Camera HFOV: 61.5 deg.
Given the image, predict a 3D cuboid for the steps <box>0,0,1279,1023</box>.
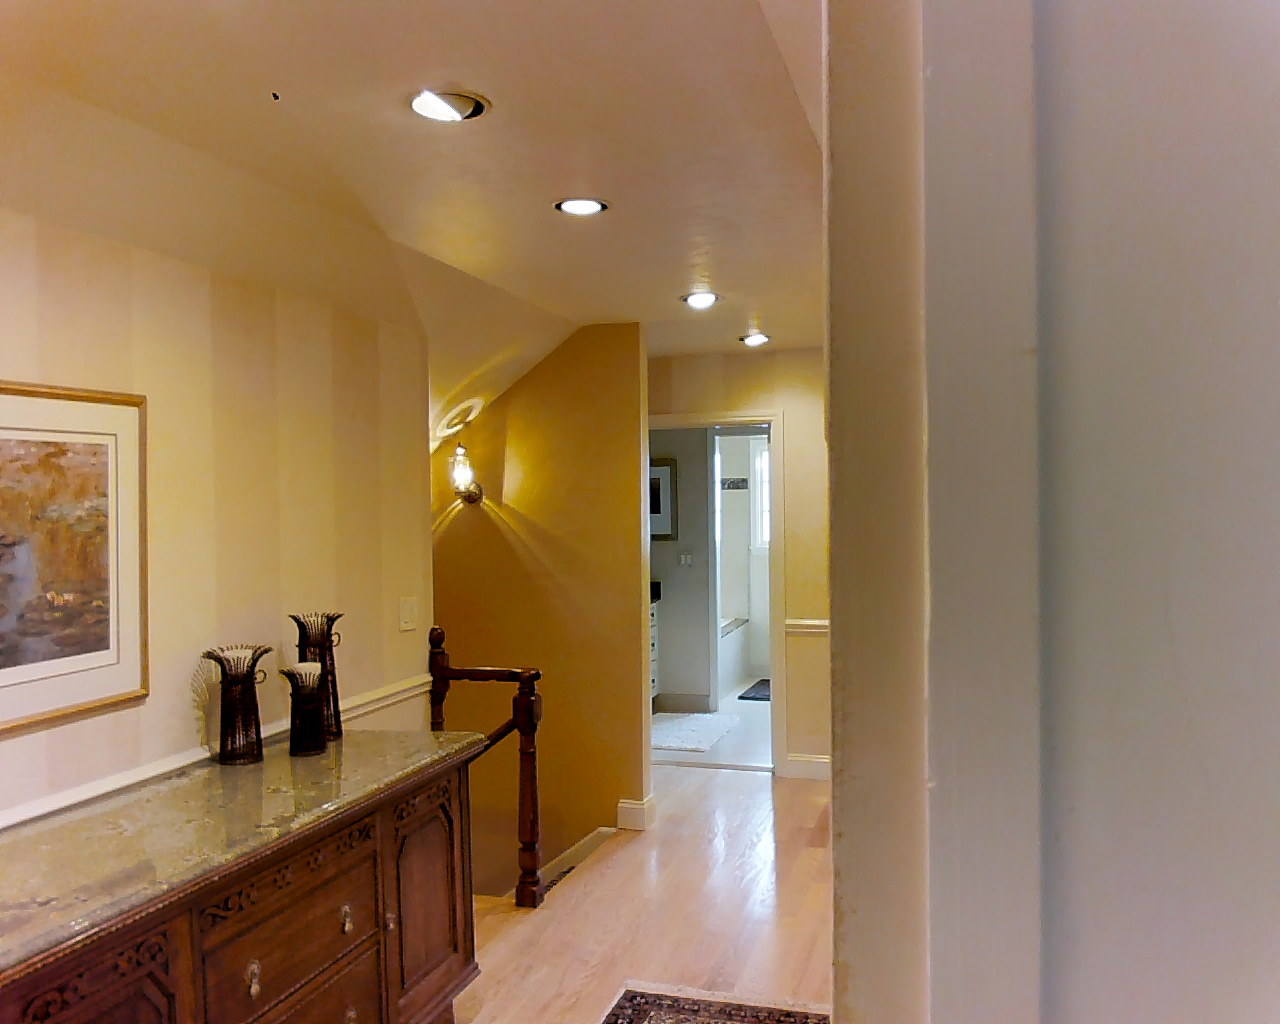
[{"bbox_3d":[-0.460,0.120,2.090,3.869,2.590,1.400,0,1,17],"label":"steps"}]
